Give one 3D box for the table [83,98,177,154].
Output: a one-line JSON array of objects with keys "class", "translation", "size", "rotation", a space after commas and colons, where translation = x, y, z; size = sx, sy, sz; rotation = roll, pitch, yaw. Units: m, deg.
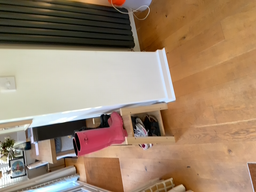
[{"class": "table", "translation": [-0.050, 0.340, 2.290], "size": [1.030, 0.480, 0.420], "rotation": [-20, 79, 56]}]
